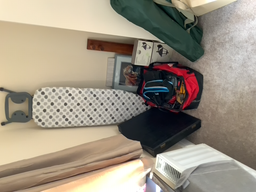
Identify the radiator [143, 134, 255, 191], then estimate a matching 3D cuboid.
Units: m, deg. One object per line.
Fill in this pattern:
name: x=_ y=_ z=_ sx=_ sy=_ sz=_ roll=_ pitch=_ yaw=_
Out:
radiator: x=0.670 y=0.490 z=1.120 sx=1.140 sy=0.600 sz=0.130 roll=17 pitch=106 yaw=54
